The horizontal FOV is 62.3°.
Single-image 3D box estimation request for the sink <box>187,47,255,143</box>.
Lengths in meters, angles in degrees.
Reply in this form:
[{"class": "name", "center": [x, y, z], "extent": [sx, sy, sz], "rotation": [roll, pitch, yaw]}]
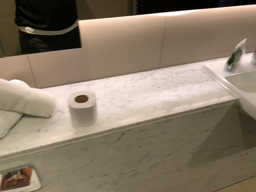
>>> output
[{"class": "sink", "center": [0.690, -0.060, 1.090], "extent": [0.560, 0.150, 0.480], "rotation": [-12, 40, -17]}]
